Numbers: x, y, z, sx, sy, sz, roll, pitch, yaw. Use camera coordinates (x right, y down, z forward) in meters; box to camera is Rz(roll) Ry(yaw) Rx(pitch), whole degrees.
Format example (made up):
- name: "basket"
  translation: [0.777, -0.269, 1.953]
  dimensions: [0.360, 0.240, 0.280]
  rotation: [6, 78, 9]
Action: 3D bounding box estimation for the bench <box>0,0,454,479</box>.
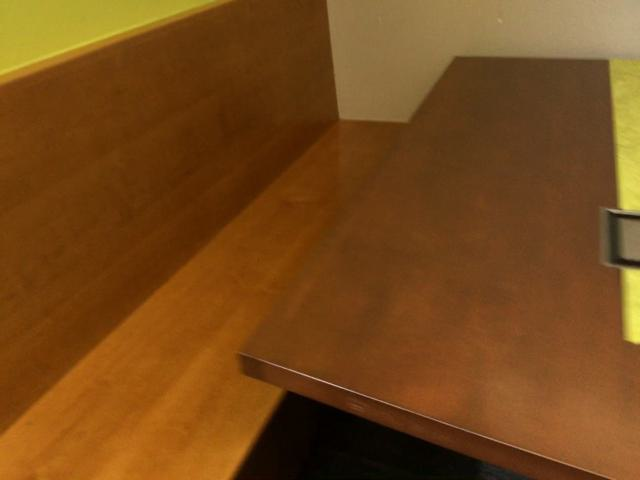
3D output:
- name: "bench"
  translation: [-0.590, 0.370, 0.370]
  dimensions: [0.520, 0.670, 4.260]
  rotation: [6, 31, 22]
